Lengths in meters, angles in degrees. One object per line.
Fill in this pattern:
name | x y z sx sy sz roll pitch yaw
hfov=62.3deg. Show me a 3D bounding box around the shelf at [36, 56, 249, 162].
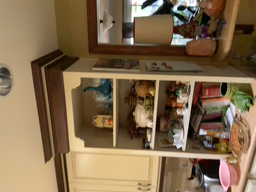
shelf | 0.090 0.090 1.850 0.450 1.510 0.740 -83 -5 -68
